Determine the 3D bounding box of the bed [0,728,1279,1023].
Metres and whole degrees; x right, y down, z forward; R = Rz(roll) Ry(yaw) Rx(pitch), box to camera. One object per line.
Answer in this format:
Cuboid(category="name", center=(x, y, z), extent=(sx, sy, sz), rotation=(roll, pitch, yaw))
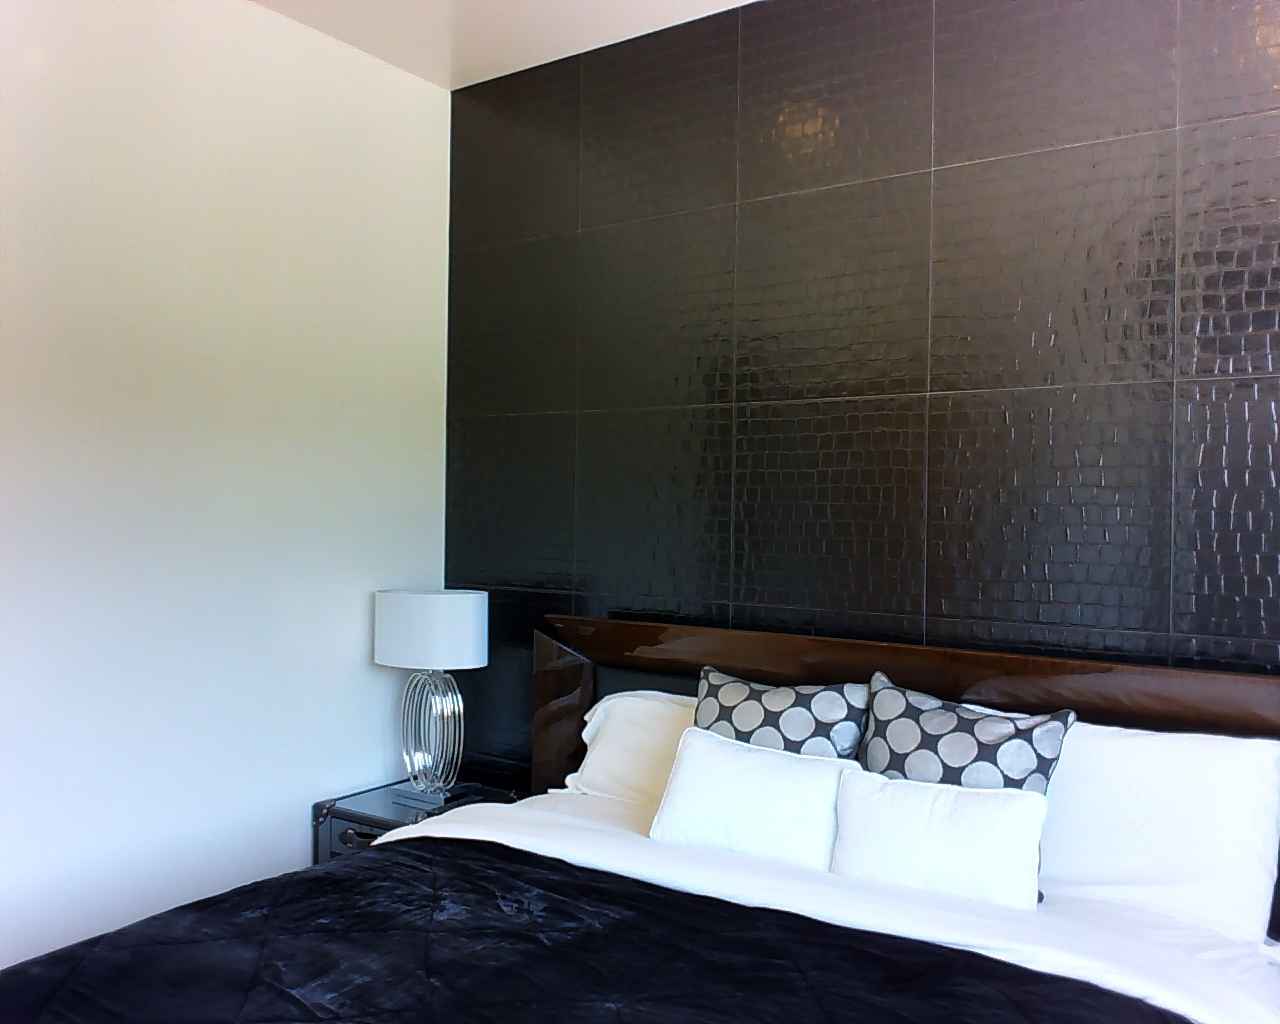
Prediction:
Cuboid(category="bed", center=(0.000, 1.030, 2.020), extent=(2.219, 0.630, 2.170), rotation=(1, 0, 34))
